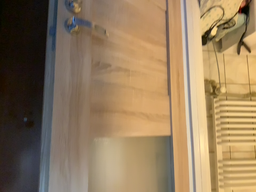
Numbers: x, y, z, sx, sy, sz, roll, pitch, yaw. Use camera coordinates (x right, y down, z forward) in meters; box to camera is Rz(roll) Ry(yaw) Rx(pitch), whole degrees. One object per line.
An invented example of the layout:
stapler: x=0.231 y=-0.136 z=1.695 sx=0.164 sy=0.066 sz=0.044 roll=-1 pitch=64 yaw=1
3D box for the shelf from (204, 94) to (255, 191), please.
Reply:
shelf: x=0.810 y=0.410 z=1.450 sx=0.530 sy=0.820 sz=0.100 roll=2 pitch=171 yaw=-9
